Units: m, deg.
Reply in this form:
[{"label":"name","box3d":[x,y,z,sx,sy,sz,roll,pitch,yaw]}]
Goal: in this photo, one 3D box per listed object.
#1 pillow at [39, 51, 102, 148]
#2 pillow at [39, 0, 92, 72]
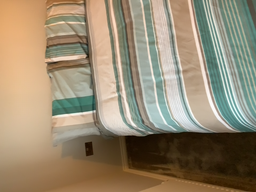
[{"label":"pillow","box3d":[-0.560,0.050,2.100,0.260,0.480,0.830,-15,78,27]},{"label":"pillow","box3d":[-0.620,-0.680,2.130,0.180,0.470,0.780,-13,79,30]}]
